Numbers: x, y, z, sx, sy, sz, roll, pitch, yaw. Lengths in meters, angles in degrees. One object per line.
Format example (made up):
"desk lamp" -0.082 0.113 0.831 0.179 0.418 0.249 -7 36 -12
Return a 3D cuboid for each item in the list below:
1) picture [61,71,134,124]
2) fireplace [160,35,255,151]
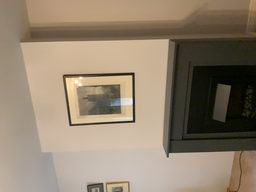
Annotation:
"picture" -0.280 0.020 2.090 0.050 0.680 0.520 -98 7 -67
"fireplace" 0.840 -0.020 2.060 0.270 0.960 1.070 -99 8 -69
